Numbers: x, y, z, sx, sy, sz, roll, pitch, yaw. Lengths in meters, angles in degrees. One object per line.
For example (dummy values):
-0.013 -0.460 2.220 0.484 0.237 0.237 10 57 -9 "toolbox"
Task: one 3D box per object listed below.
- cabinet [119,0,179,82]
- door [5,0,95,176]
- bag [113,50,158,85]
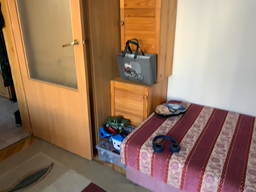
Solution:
0.180 -0.770 1.840 0.410 1.190 0.320 14 27 29 "cabinet"
-0.670 -0.360 1.780 0.820 2.150 0.100 15 27 30 "door"
0.060 -0.260 1.860 0.370 0.230 0.140 15 27 30 "bag"
